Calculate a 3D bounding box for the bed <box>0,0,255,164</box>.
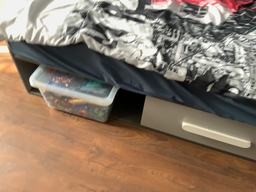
[{"bbox_3d":[0.570,-0.240,1.160,2.170,0.530,0.950,16,50,8],"label":"bed"}]
